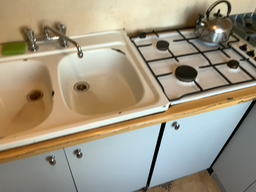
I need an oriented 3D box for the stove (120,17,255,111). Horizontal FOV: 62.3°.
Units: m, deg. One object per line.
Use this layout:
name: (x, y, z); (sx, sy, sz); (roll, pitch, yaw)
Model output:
stove: (0.360, -0.220, 1.070); (0.660, 0.050, 0.570); (-12, 47, -16)
